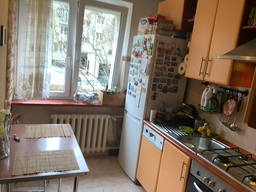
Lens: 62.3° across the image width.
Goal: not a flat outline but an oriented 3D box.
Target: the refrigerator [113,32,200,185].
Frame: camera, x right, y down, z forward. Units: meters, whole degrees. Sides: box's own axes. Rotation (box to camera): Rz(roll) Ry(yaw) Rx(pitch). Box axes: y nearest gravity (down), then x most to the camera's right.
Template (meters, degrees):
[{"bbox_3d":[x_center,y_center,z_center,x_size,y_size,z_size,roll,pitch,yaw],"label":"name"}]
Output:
[{"bbox_3d":[0.330,0.160,2.930,0.660,1.880,0.650,3,12,-24],"label":"refrigerator"}]

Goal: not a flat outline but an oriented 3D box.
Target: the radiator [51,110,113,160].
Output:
[{"bbox_3d":[-0.670,0.550,3.070,0.790,0.620,0.280,4,11,-20],"label":"radiator"}]
